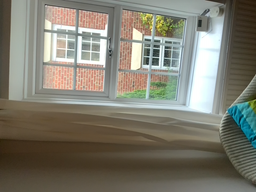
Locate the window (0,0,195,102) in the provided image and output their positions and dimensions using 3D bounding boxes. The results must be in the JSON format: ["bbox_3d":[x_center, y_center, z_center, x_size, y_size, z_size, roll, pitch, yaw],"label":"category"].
[{"bbox_3d":[-0.220,-0.410,1.950,0.100,1.720,0.860,-156,70,-74],"label":"window"}]
